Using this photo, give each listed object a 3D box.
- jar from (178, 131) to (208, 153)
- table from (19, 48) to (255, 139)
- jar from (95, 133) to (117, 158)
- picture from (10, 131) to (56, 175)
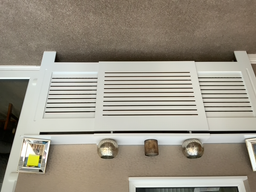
[{"bbox_3d":[0.490,0.350,1.610,0.170,0.140,0.110,0,151,-2],"label":"jar"},{"bbox_3d":[0.160,-0.050,1.810,1.900,0.780,0.170,0,151,-2],"label":"table"},{"bbox_3d":[-0.160,0.370,1.580,0.150,0.150,0.130,1,151,-3],"label":"jar"},{"bbox_3d":[-0.690,0.420,1.560,0.190,0.250,0.130,11,151,9],"label":"picture"}]
